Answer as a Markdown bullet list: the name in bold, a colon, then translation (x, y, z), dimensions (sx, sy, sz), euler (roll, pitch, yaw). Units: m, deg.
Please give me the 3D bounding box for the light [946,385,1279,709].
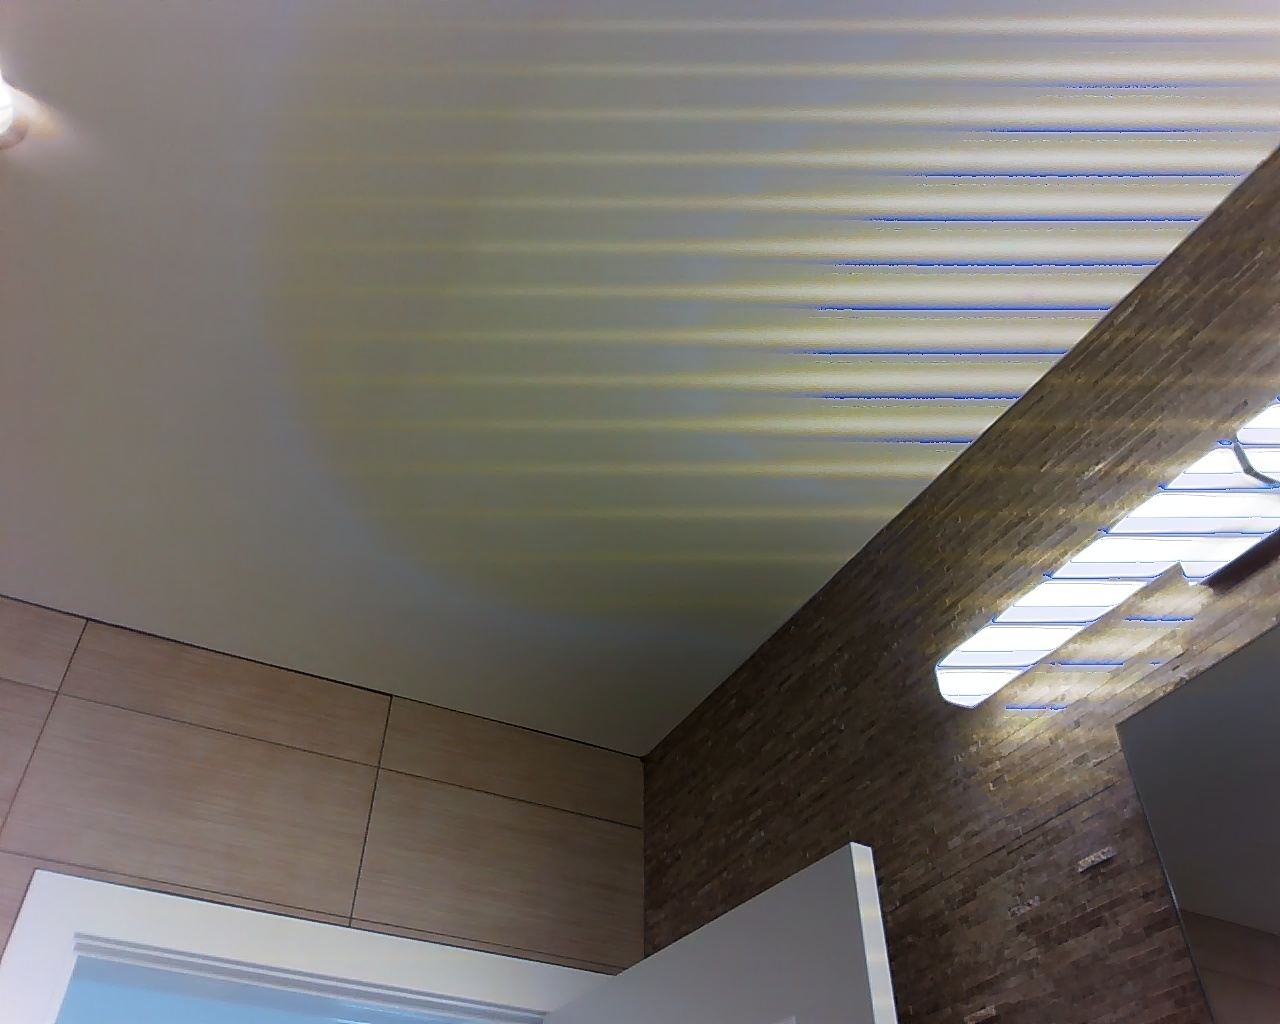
- **light**: translation (0.680, -0.060, 1.160), dimensions (0.080, 0.070, 0.980), euler (19, -45, -19)
